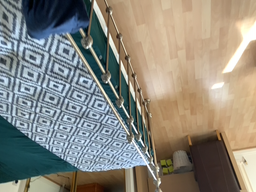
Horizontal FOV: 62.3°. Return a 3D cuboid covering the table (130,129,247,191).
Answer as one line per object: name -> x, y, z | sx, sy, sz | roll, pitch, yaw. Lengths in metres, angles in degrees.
table -> 0.730, 1.030, 2.840 | 1.240, 0.750, 0.650 | -12, 141, 10
